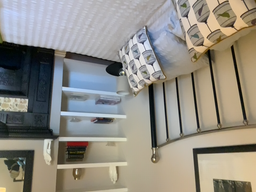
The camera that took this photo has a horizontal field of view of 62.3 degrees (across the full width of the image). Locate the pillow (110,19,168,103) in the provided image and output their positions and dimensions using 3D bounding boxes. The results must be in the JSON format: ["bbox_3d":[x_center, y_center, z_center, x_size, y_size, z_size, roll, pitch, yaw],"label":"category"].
[{"bbox_3d":[0.050,-0.250,1.610,0.170,0.390,0.470,7,137,-26],"label":"pillow"}]

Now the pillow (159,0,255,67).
[{"bbox_3d":[0.380,-0.430,0.990,0.190,0.380,0.410,7,142,-27],"label":"pillow"}]

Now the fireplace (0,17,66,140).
[{"bbox_3d":[-1.390,-0.180,2.270,1.270,1.240,0.430,6,163,-24],"label":"fireplace"}]
